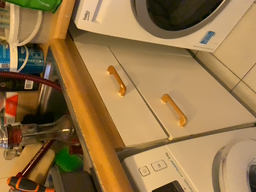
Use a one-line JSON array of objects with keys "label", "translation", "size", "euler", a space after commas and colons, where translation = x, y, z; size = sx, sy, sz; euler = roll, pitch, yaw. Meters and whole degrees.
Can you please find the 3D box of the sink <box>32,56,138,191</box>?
[{"label": "sink", "translation": [-0.230, 0.180, 0.860], "size": [0.440, 0.170, 0.500], "euler": [58, 135, 35]}]
